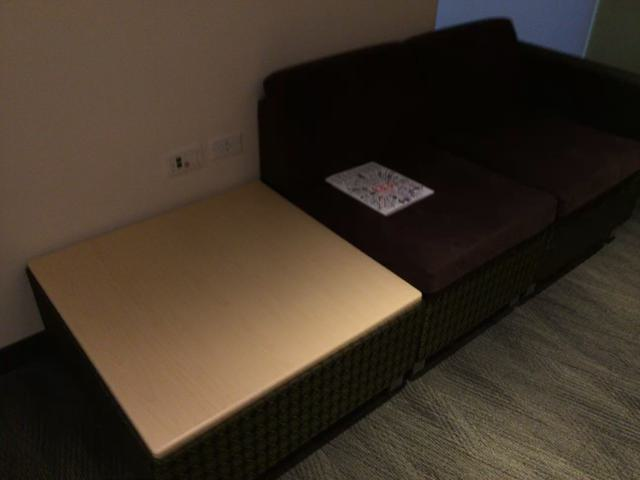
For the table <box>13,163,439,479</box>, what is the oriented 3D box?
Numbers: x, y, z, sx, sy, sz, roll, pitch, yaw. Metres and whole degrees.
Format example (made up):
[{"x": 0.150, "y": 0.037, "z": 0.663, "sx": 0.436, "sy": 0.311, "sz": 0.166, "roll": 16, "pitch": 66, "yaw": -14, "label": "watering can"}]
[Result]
[{"x": -0.260, "y": 0.240, "z": 1.590, "sx": 0.800, "sy": 0.420, "sz": 0.780, "roll": -24, "pitch": 42, "yaw": -27, "label": "table"}]
